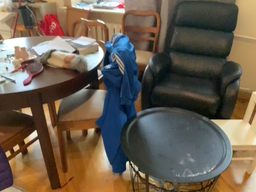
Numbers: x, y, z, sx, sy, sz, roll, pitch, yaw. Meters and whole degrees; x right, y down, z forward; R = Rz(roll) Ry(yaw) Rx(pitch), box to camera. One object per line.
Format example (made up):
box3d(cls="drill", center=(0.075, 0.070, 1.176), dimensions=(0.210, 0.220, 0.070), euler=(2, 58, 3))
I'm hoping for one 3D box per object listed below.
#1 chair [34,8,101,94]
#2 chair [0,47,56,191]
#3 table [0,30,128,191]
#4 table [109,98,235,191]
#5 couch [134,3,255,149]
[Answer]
box3d(cls="chair", center=(-0.700, -0.570, 2.620), dimensions=(0.450, 0.870, 0.520), euler=(21, 36, 30))
box3d(cls="chair", center=(-0.830, 0.210, 1.230), dimensions=(0.430, 0.870, 0.500), euler=(12, 33, 18))
box3d(cls="table", center=(-0.640, 0.060, 1.570), dimensions=(0.960, 0.770, 0.950), euler=(14, 33, 21))
box3d(cls="table", center=(0.280, 0.410, 1.320), dimensions=(0.550, 0.460, 0.580), euler=(16, 34, 23))
box3d(cls="couch", center=(0.600, -0.270, 1.990), dimensions=(0.780, 0.960, 0.910), euler=(13, 33, 19))
